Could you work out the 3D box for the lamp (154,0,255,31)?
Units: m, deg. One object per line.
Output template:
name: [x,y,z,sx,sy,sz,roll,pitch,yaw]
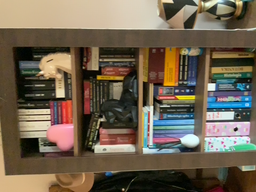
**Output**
lamp: [0.440,-0.600,1.300,0.360,0.490,0.320,-124,34,-81]
